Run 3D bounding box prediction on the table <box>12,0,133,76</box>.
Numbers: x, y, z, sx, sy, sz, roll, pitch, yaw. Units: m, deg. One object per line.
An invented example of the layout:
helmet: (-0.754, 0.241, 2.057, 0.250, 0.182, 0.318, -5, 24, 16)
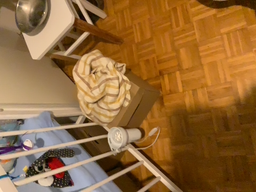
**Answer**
table: (-0.290, -0.370, 1.190, 0.330, 0.470, 0.330, -40, 70, 23)
